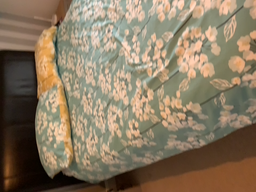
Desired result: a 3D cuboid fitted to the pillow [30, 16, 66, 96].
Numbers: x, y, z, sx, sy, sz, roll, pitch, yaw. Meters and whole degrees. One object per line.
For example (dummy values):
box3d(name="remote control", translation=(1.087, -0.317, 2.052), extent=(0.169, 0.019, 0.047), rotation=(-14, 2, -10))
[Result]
box3d(name="pillow", translation=(-0.800, -0.380, 2.080), extent=(0.390, 0.200, 0.640), rotation=(-43, 55, 47))
